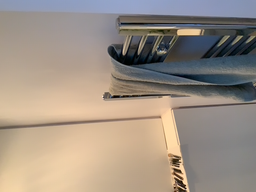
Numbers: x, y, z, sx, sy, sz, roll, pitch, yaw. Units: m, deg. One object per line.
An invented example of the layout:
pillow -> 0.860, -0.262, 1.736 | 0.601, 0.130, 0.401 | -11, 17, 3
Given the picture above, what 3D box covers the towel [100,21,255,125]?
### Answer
towel -> 0.290, -0.060, 0.710 | 0.310, 0.730, 0.190 | 117, 148, -67
